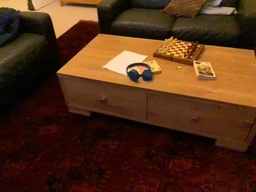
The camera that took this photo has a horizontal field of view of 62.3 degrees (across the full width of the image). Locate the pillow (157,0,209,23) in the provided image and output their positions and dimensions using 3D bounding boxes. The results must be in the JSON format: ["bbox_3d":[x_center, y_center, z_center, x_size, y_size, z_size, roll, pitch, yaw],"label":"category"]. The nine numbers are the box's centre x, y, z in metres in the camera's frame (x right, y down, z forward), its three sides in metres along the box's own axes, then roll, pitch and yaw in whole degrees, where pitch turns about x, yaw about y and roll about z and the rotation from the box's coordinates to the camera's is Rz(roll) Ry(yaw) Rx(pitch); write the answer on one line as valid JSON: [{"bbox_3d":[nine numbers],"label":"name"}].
[{"bbox_3d":[0.590,-0.970,2.230,0.440,0.380,0.140,10,-21,33],"label":"pillow"}]

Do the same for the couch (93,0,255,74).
[{"bbox_3d":[0.550,-0.930,2.320,1.520,1.020,0.760,9,-49,13],"label":"couch"}]
